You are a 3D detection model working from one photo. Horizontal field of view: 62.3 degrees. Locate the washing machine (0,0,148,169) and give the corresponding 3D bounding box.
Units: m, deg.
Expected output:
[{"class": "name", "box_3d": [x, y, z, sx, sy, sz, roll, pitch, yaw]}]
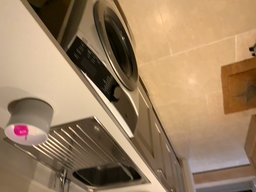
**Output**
[{"class": "washing machine", "box_3d": [-0.350, -0.190, 1.260, 0.690, 0.900, 0.700, -15, 137, 14]}]
